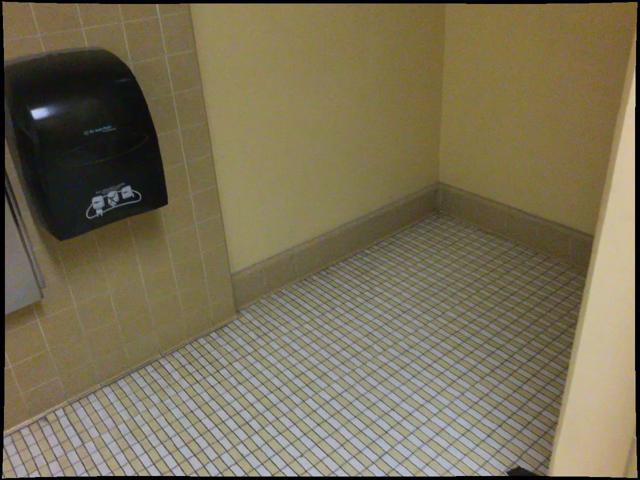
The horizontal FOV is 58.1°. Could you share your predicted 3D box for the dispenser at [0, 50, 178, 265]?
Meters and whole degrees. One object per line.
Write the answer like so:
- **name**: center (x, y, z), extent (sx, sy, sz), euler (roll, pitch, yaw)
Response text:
- **dispenser**: center (-0.618, -0.231, 1.510), extent (0.330, 0.441, 0.260), euler (-24, 34, -33)
